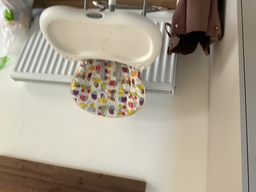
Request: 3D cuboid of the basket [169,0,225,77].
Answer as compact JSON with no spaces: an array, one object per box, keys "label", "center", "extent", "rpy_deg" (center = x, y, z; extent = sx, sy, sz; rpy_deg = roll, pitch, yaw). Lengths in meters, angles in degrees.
[{"label":"basket","center":[0.410,-0.500,1.350],"extent":[0.240,0.540,0.550],"rpy_deg":[5,158,11]}]
